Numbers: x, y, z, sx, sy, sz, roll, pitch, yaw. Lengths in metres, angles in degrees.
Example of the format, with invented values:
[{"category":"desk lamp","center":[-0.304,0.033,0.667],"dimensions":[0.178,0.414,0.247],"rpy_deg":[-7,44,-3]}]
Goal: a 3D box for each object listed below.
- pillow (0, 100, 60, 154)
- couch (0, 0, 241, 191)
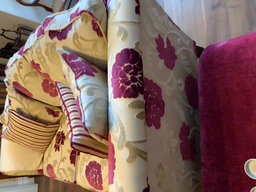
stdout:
[{"category":"pillow","center":[-0.830,0.270,1.790],"dimensions":[0.190,0.430,0.470],"rpy_deg":[-101,14,-44]},{"category":"couch","center":[-0.360,0.120,1.600],"dimensions":[1.860,0.920,1.100],"rpy_deg":[-12,75,47]}]
